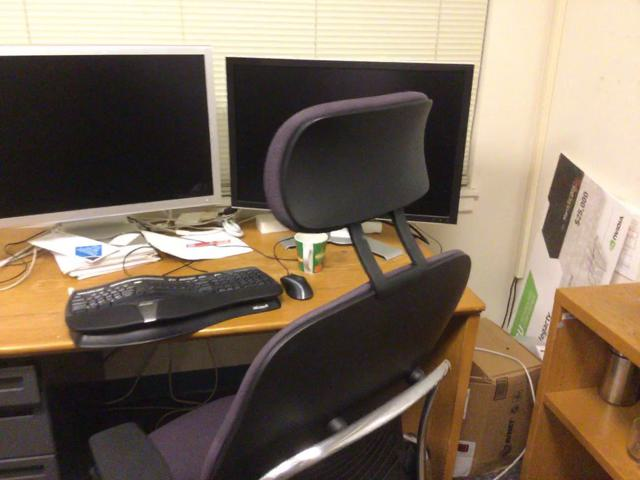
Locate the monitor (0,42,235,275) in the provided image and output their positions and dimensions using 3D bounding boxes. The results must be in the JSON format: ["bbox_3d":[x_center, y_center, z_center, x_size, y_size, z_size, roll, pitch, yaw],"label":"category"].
[{"bbox_3d":[-0.600,-0.220,1.490,0.730,0.530,0.190,-7,23,-25],"label":"monitor"}]

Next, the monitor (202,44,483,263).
[{"bbox_3d":[0.050,-0.260,1.660,0.720,0.530,0.220,6,21,9],"label":"monitor"}]

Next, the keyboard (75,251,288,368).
[{"bbox_3d":[-0.330,0.150,1.400,0.450,0.120,0.220,-8,23,-28],"label":"keyboard"}]
